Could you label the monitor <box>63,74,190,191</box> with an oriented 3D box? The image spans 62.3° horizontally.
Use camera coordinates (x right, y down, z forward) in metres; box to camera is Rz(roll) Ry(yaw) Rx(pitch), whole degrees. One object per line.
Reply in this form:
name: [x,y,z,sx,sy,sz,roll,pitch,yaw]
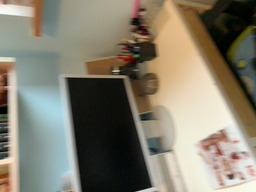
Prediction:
monitor: [-0.020,0.140,0.950,0.060,0.460,0.540,-54,46,52]
